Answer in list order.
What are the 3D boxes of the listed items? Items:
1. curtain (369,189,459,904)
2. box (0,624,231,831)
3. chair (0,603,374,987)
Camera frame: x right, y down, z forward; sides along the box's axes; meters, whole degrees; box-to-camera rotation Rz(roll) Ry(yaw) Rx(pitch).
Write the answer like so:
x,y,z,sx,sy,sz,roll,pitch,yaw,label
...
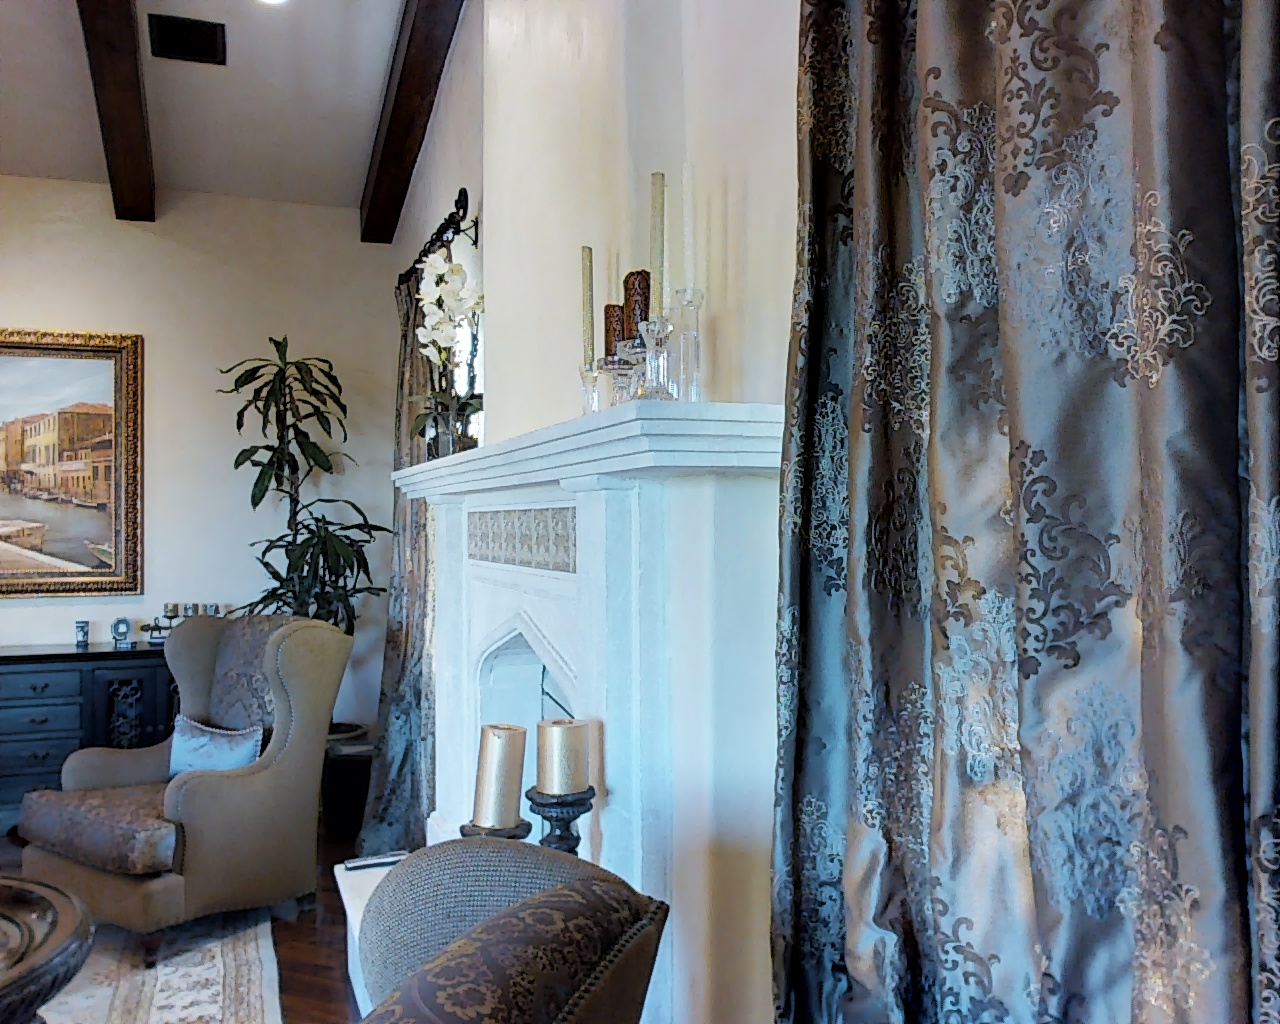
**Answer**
x,y,z,sx,sy,sz,roll,pitch,yaw,label
-1.070,0.140,4.970,0.220,2.900,1.250,0,0,-21,curtain
-3.190,1.120,5.630,1.940,0.940,0.530,0,0,-21,box
-1.790,1.010,4.290,0.940,1.170,1.050,0,0,33,chair
